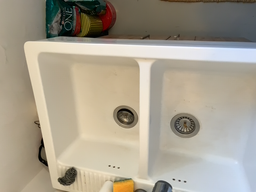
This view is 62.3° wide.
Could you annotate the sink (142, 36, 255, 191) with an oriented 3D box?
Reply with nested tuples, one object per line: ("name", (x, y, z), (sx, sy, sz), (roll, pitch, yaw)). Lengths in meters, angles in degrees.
("sink", (0.280, 0.170, 0.810), (0.400, 0.200, 0.730), (8, 114, 15))
